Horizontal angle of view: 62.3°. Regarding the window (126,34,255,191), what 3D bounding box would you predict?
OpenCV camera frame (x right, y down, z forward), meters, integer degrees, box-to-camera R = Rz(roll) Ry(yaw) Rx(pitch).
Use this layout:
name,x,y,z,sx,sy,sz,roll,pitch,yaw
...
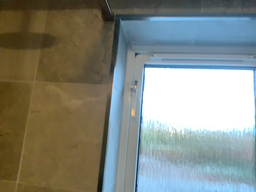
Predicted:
name,x,y,z,sx,sy,sz,roll,pitch,yaw
window,0.260,0.280,0.780,0.520,1.070,0.050,2,-11,11
